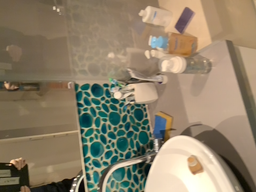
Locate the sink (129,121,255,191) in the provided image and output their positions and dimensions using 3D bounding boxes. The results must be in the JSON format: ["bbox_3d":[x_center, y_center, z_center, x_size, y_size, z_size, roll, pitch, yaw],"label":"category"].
[{"bbox_3d":[0.210,0.380,0.590,0.390,0.130,0.550,-27,70,54],"label":"sink"}]
